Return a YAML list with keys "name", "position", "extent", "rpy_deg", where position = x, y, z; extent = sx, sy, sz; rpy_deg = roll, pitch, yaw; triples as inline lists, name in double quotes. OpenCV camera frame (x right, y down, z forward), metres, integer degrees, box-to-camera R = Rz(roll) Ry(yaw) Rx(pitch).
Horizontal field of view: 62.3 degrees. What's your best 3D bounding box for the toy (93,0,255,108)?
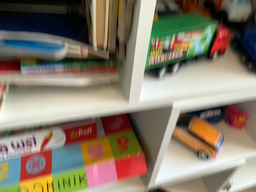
- name: "toy"
  position: [0.120, -0.180, 0.450]
  extent: [0.340, 0.190, 0.330]
  rpy_deg: [-7, 44, -15]
